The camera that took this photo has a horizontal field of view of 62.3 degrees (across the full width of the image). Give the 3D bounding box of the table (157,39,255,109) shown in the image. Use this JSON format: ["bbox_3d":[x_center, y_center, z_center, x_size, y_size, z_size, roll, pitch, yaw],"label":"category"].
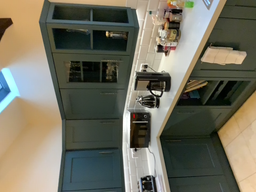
[{"bbox_3d":[0.880,-0.240,2.410,0.500,0.920,0.590,102,165,-52],"label":"table"}]
